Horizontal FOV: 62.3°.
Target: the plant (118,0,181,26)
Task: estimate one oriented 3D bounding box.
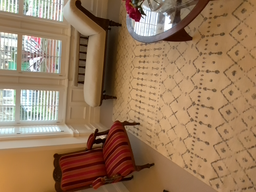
[{"bbox_3d":[0.190,-0.810,1.760,0.210,0.470,0.330,18,105,61],"label":"plant"}]

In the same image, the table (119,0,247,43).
[{"bbox_3d":[0.390,-0.820,1.910,1.160,0.440,0.580,21,108,60],"label":"table"}]

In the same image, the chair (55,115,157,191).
[{"bbox_3d":[-0.340,0.760,2.720,0.870,0.970,0.640,-57,41,45],"label":"chair"}]
